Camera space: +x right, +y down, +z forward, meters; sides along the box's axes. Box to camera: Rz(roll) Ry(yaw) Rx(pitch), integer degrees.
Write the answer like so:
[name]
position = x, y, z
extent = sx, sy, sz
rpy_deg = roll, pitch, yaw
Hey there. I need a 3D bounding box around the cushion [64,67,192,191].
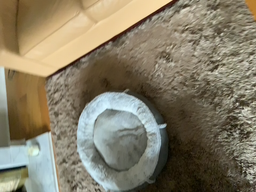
[cushion]
position = -0.060, 0.280, 1.410
extent = 0.720, 0.150, 0.680
rpy_deg = -25, 71, 26
